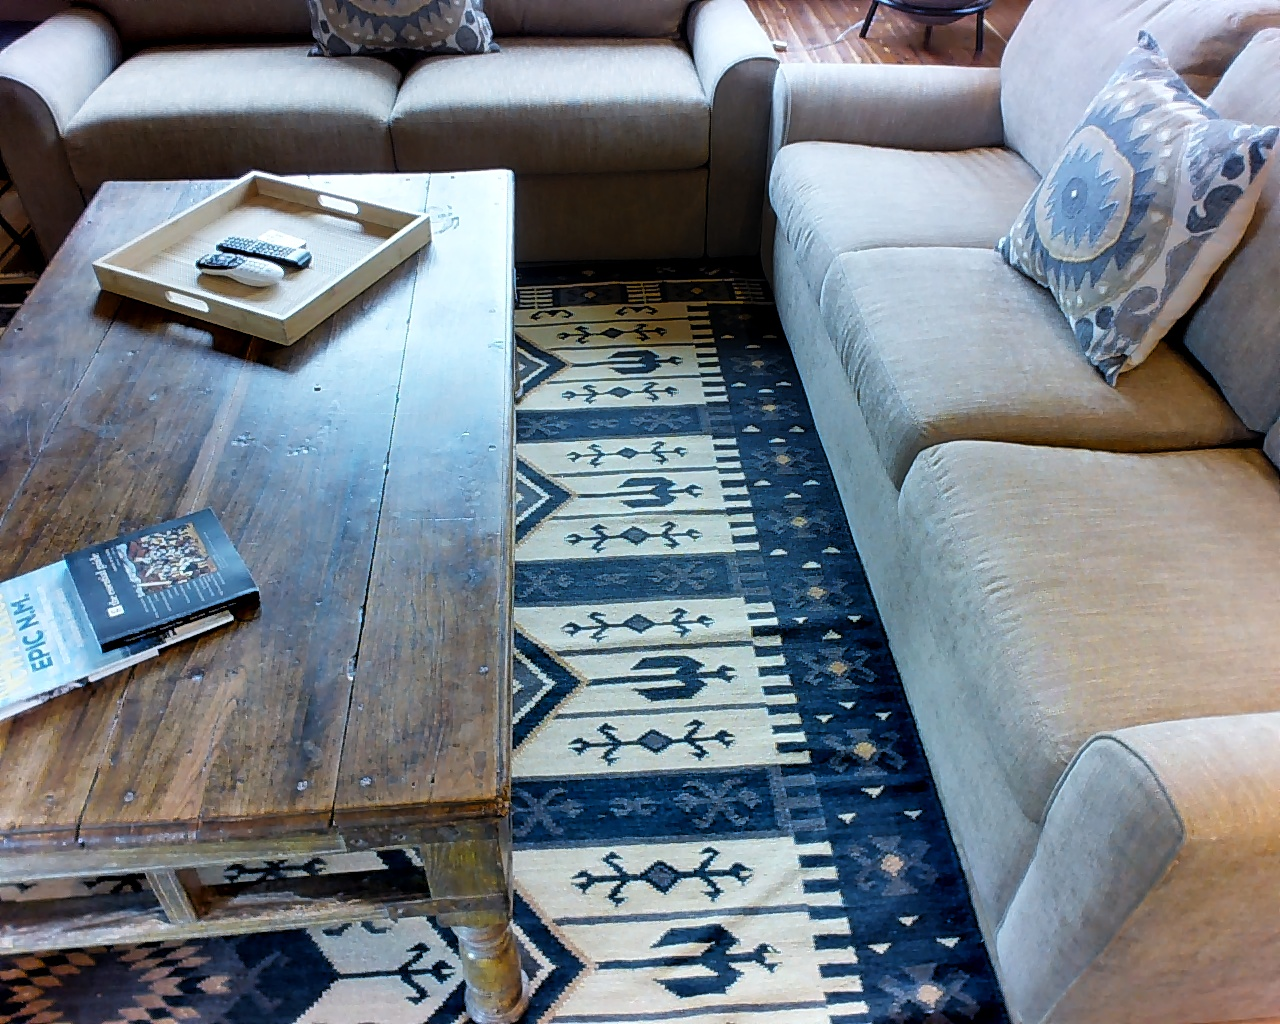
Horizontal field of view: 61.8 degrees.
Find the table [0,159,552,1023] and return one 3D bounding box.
[{"bbox_3d":[-0.610,0.020,1.750,0.900,0.540,1.610,-2,41,-3],"label":"table"}]
